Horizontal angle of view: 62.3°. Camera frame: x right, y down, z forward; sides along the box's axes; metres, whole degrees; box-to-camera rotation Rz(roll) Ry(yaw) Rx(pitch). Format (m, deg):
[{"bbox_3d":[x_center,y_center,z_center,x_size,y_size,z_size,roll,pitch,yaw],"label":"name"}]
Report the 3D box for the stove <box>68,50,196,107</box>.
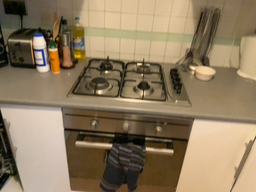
[{"bbox_3d":[0.030,-0.130,1.200,0.580,0.040,0.540,5,31,1],"label":"stove"}]
